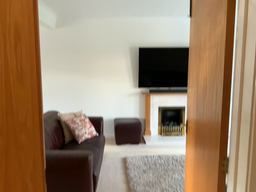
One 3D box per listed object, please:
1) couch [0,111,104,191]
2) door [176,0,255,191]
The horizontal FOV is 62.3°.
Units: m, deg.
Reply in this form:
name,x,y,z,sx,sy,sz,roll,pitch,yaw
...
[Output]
name,x,y,z,sx,sy,sz,roll,pitch,yaw
couch,-0.840,0.740,2.640,0.950,0.770,1.800,0,7,-2
door,0.400,0.400,1.150,0.080,2.060,0.850,0,7,0
